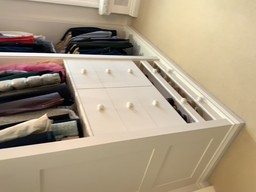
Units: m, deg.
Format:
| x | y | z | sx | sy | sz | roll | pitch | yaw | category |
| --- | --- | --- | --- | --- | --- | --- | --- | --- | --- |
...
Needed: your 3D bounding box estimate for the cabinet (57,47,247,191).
| x | y | z | sx | sy | sz | roll | pitch | yaw | category |
| --- | --- | --- | --- | --- | --- | --- | --- | --- | --- |
| 0.040 | 0.160 | 2.030 | 1.310 | 1.180 | 0.760 | 54 | 139 | 48 | cabinet |
